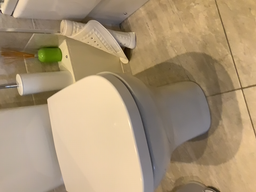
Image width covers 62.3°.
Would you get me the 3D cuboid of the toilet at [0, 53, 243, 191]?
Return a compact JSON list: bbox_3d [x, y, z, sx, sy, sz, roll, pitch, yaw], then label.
[{"bbox_3d":[-0.150,0.150,0.720,0.650,0.820,0.380,-16,87,48],"label":"toilet"}]
